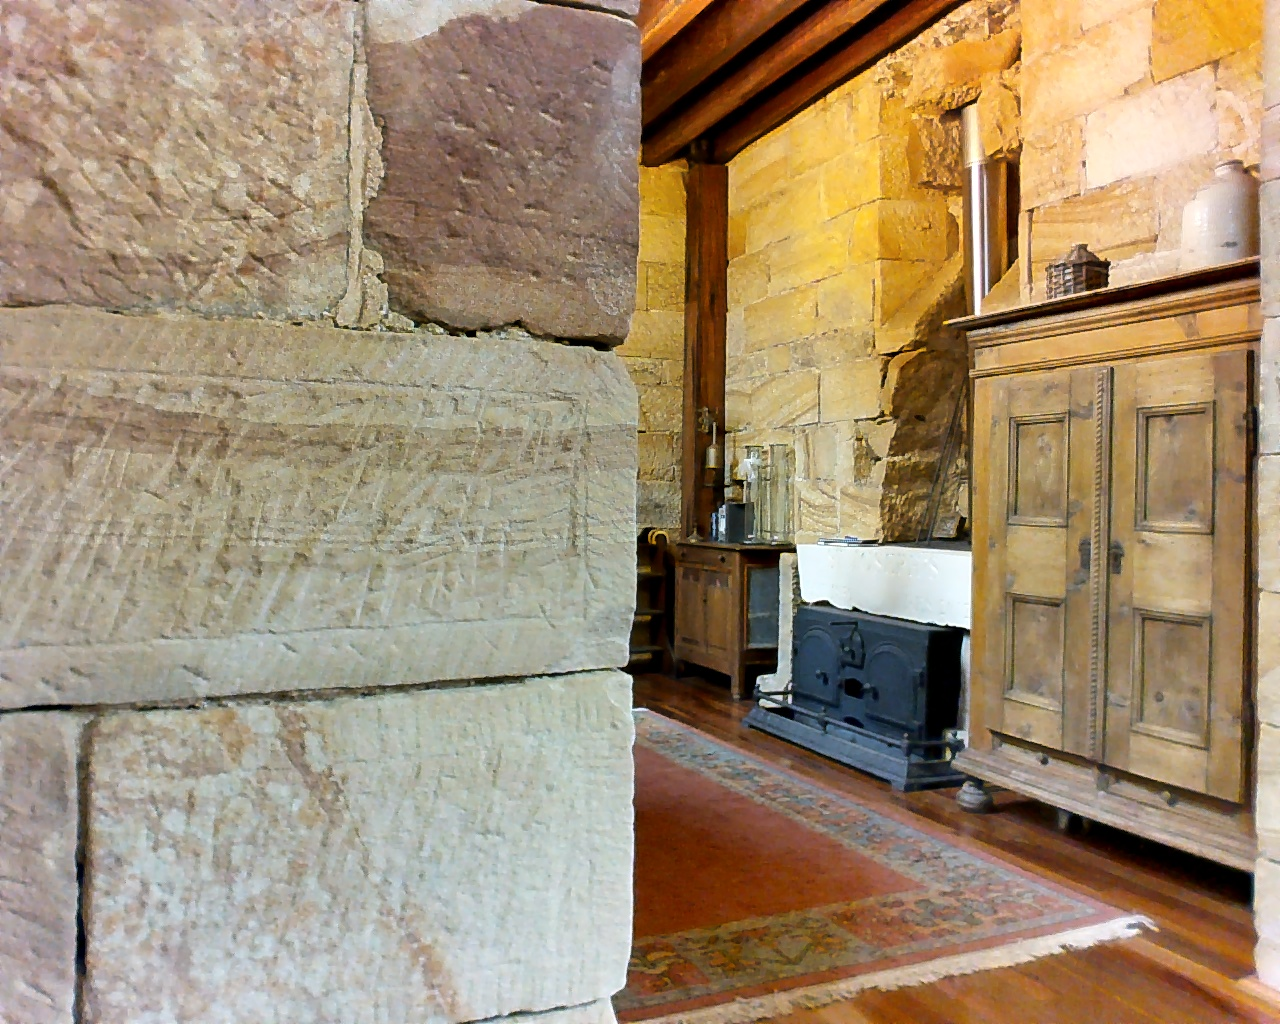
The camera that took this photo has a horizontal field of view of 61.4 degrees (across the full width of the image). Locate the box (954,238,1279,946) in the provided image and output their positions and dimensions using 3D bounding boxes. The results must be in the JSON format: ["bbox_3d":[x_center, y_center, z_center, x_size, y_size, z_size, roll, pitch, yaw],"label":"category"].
[{"bbox_3d":[1.709,0.200,3.410,0.710,1.791,1.270,1,0,-24],"label":"box"}]

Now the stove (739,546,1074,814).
[{"bbox_3d":[1.109,0.650,4.810,0.710,0.950,1.440,1,0,-24],"label":"stove"}]

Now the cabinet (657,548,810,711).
[{"bbox_3d":[0.530,0.660,6.500,0.400,0.850,1.170,1,0,-24],"label":"cabinet"}]
